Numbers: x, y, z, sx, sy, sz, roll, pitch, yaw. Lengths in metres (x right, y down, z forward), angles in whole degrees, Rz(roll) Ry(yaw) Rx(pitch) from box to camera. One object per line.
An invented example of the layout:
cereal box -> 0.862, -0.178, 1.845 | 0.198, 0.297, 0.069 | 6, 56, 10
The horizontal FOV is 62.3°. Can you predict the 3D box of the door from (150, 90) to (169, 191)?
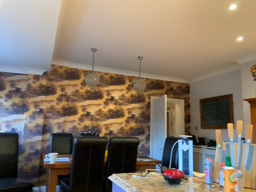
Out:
door -> 0.660, 0.970, 4.520 | 0.050, 2.070, 0.930 | 4, -9, -11
